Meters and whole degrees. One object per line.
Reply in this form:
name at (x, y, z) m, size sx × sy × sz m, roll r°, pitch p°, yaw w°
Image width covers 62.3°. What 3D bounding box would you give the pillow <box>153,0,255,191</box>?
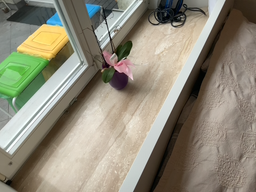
pillow at (0.580, 0.030, 1.040) m, size 0.490 × 0.320 × 1.480 m, roll 15°, pitch 55°, yaw 22°
